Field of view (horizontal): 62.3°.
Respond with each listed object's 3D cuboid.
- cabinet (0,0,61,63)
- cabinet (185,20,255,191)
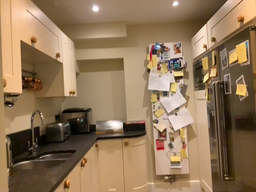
[{"bbox_3d":[-0.900,-0.560,1.840,0.340,0.390,0.880,-3,-1,0],"label":"cabinet"},{"bbox_3d":[1.110,0.260,2.620,0.530,2.140,0.650,-3,-1,1],"label":"cabinet"}]
